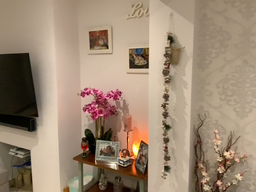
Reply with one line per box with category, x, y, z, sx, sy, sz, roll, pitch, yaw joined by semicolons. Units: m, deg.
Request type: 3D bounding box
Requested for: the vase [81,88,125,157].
vase;-0.250;0.250;2.190;0.360;0.630;0.250;4;8;26
